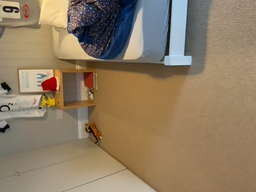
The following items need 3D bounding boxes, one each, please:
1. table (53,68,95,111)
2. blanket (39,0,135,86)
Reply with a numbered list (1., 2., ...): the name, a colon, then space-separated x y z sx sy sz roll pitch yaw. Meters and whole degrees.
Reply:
1. table: -0.760 -0.110 3.000 0.270 0.490 0.550 13 107 53
2. blanket: -0.370 -0.760 1.610 0.970 0.340 1.040 39 126 45
